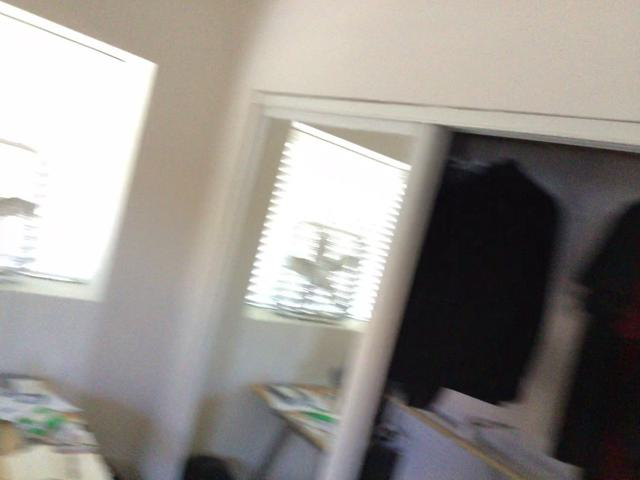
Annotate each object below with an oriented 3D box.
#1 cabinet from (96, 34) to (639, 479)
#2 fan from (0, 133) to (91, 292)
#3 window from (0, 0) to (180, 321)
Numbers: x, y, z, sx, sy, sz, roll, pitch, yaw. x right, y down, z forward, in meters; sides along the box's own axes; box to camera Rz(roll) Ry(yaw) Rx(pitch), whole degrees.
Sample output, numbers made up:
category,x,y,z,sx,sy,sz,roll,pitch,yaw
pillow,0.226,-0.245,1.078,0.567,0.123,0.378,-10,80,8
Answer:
category,x,y,z,sx,sy,sz,roll,pitch,yaw
cabinet,0.420,0.630,2.110,1.220,2.220,2.430,16,2,-40
fan,-1.250,-0.140,2.140,0.580,0.530,0.250,16,2,-40
window,-1.470,-0.410,1.830,1.780,1.040,0.390,16,2,-40
